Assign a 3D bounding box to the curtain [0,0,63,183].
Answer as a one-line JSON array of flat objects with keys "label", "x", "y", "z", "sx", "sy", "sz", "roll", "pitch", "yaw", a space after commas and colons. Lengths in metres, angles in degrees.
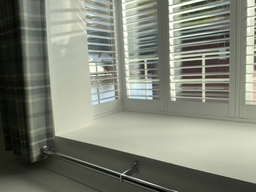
[{"label": "curtain", "x": -0.750, "y": -0.530, "z": 1.430, "sx": 0.430, "sy": 2.190, "sz": 0.170, "roll": 2, "pitch": -170, "yaw": 34}]
